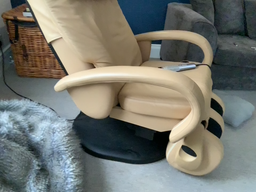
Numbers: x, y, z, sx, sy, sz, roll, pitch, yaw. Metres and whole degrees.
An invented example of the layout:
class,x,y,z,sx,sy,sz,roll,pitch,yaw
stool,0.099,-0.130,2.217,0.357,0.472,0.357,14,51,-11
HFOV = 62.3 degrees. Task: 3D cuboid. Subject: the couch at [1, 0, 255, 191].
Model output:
class,x,y,z,sx,sy,sz,roll,pitch,yaw
couch,0.060,-0.220,1.150,1.080,1.130,0.660,16,34,16
